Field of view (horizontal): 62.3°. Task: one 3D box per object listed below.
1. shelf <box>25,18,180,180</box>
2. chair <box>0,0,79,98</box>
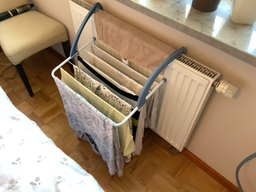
[{"bbox_3d":[-0.160,0.010,1.310,0.750,0.610,0.380,36,58,26],"label":"shelf"},{"bbox_3d":[-0.830,-0.580,1.570,0.460,0.890,0.680,-37,60,-28],"label":"chair"}]
